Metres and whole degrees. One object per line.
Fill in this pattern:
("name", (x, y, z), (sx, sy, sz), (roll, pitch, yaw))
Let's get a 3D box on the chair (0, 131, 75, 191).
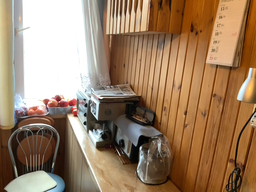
("chair", (-0.700, 0.730, 1.650), (0.470, 0.720, 0.540), (0, 13, -22))
